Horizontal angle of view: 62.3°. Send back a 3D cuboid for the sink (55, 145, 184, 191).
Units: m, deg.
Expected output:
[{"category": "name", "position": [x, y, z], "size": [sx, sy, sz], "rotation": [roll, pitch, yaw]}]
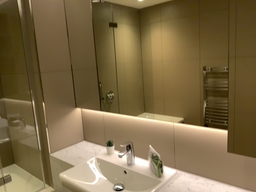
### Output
[{"category": "sink", "position": [-0.050, 0.510, 1.240], "size": [0.580, 0.170, 0.470], "rotation": [5, 13, 40]}]
